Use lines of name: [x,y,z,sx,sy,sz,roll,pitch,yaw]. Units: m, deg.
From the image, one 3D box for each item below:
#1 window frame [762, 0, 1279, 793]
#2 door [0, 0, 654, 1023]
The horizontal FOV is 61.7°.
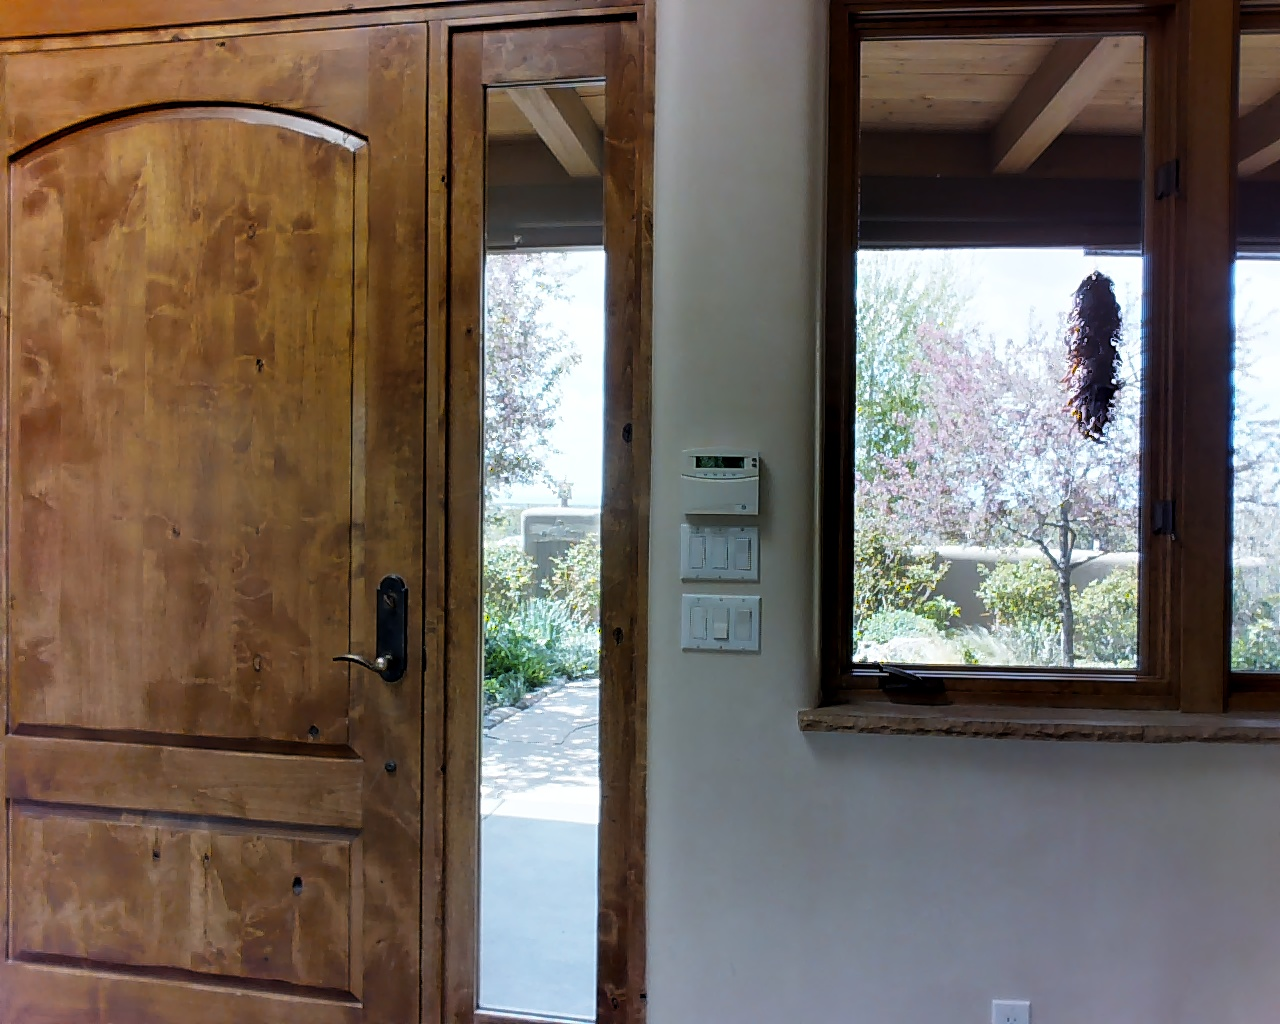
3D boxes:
window frame: [1.990,-0.320,2.220,3.399,1.730,0.440,1,1,2]
door: [-1.060,0.050,2.490,2.150,2.581,0.140,1,1,10]
